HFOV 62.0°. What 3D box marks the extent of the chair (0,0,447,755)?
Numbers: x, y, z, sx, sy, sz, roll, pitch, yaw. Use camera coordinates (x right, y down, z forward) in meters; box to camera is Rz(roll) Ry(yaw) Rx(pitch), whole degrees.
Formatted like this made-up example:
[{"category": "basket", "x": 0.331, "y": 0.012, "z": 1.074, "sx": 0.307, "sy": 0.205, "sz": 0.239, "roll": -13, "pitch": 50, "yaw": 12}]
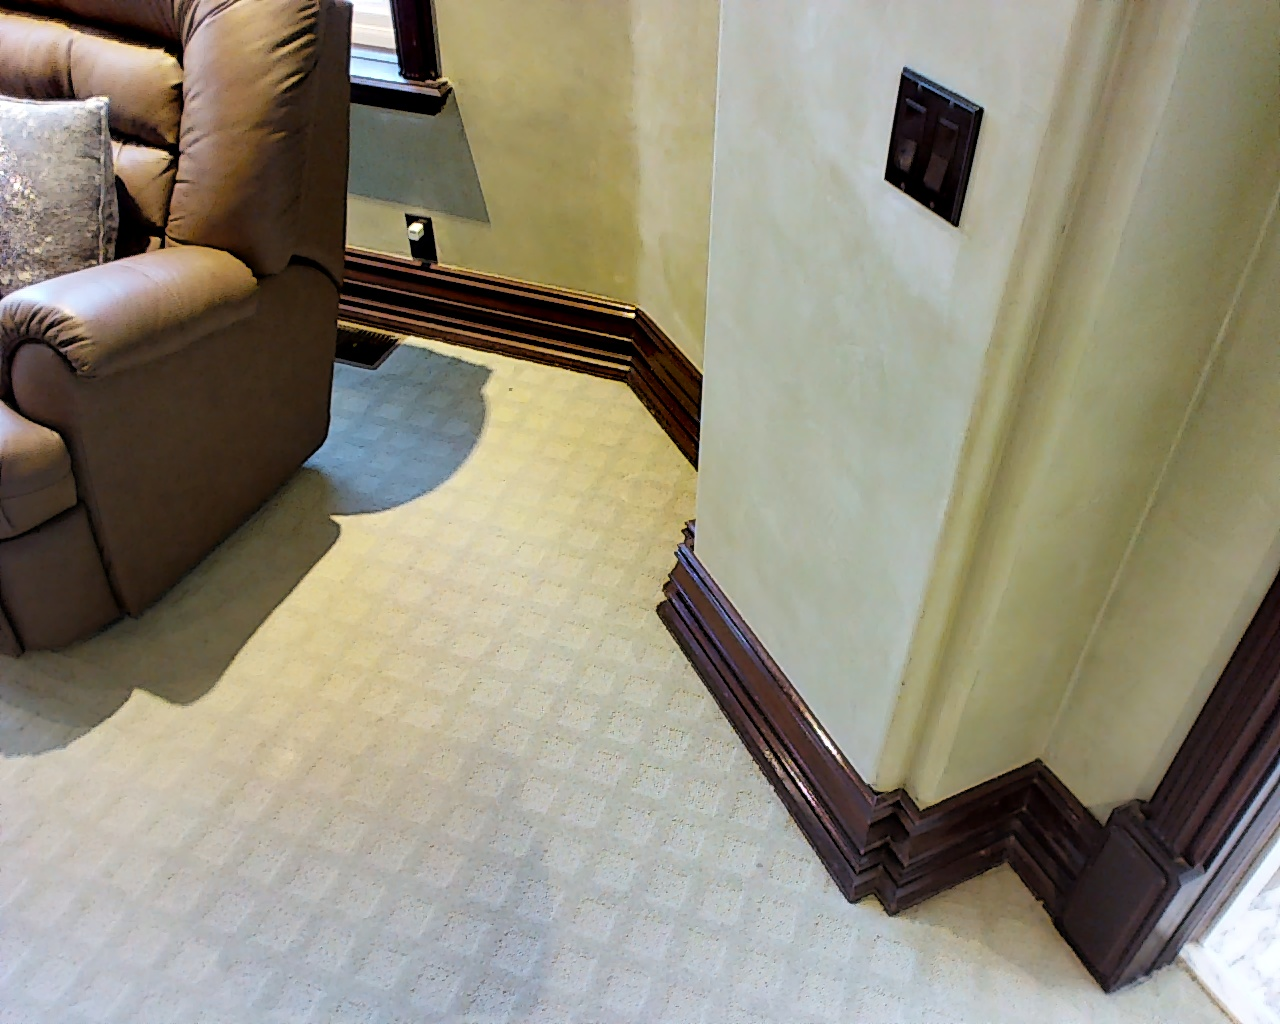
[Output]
[{"category": "chair", "x": -1.130, "y": -0.480, "z": 1.890, "sx": 1.050, "sy": 1.070, "sz": 1.130, "roll": 14, "pitch": 43, "yaw": 14}]
